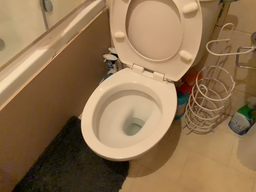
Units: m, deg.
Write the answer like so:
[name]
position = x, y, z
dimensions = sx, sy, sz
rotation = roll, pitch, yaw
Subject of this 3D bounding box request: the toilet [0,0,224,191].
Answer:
[toilet]
position = 0.040, -0.040, 0.940
dimensions = 0.420, 0.780, 0.670
rotation = 22, 57, 18
